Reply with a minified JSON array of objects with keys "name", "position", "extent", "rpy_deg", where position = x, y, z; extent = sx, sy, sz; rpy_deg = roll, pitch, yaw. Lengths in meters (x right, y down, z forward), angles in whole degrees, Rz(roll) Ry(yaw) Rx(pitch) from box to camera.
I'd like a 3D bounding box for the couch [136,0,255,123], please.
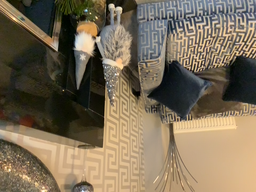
[{"name":"couch","position":[0.780,-0.260,1.930],"extent":[1.360,0.730,1.080],"rpy_deg":[-2,158,4]}]
